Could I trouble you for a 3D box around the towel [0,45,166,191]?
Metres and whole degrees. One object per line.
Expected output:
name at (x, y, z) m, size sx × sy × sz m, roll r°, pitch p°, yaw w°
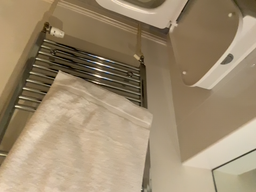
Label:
towel at (-0.160, 0.130, 0.870) m, size 0.610 × 0.620 × 0.120 m, roll 15°, pitch 140°, yaw -17°
